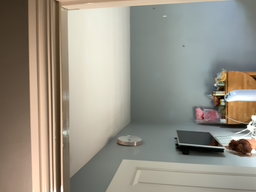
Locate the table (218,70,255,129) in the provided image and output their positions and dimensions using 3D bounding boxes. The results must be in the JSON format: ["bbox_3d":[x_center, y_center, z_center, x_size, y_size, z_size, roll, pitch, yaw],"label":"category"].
[{"bbox_3d":[1.930,0.050,3.530,0.380,0.720,0.920,-4,-86,-80],"label":"table"}]
